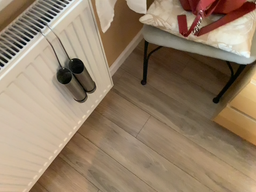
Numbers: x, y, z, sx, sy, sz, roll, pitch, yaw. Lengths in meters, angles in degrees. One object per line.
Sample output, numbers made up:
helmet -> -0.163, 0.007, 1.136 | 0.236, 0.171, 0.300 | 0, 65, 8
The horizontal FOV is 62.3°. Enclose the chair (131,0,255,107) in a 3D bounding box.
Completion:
chair -> 0.360, -0.490, 0.960 | 0.490, 0.990, 0.650 | 19, 68, 10
